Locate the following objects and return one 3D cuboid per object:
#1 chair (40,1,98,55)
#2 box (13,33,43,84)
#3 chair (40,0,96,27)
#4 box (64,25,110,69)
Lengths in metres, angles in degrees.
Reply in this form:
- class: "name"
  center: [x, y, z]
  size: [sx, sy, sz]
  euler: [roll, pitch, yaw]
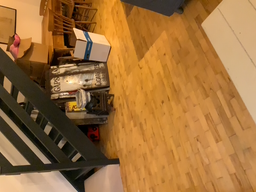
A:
- class: "chair"
  center: [-1.080, -1.190, 3.840]
  size: [0.560, 0.860, 0.500]
  euler: [-43, 50, 48]
- class: "box"
  center: [-1.690, -0.620, 3.580]
  size: [0.560, 0.360, 0.580]
  euler: [-42, 51, 48]
- class: "chair"
  center: [-1.150, -1.740, 4.020]
  size: [0.490, 0.860, 0.500]
  euler: [-64, 37, 30]
- class: "box"
  center: [-0.680, -0.780, 3.420]
  size: [0.440, 0.530, 0.470]
  euler: [56, 132, 46]
